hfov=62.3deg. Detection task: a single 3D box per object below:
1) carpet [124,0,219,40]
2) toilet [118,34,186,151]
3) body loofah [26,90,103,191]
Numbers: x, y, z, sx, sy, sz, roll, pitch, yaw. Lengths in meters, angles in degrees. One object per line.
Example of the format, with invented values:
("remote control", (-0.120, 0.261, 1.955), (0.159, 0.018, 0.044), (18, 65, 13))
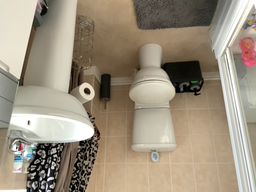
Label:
("carpet", (0.250, -0.640, 1.220), (0.570, 0.030, 0.910), (-3, 158, 10))
("toilet", (0.200, 0.020, 1.820), (0.440, 0.790, 0.660), (-3, 158, 8))
("body loofah", (-0.410, 0.540, 1.520), (0.250, 1.000, 0.610), (-3, 158, 9))
